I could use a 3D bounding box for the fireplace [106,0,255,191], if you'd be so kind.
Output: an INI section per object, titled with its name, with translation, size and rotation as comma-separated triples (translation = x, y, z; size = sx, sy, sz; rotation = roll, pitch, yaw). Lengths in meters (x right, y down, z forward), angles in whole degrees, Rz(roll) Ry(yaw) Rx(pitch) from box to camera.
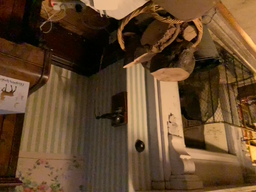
[fireplace]
translation = 0.760, 0.230, 2.130
size = 1.720, 1.270, 0.930
rotation = 18, 152, -41
